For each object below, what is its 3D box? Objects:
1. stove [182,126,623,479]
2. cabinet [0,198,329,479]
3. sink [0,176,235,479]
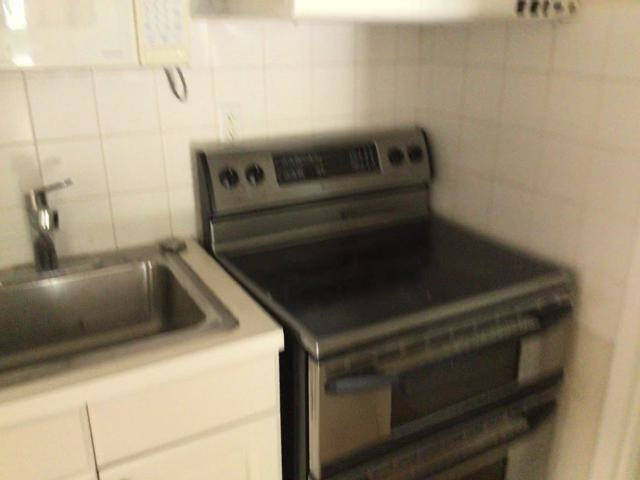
[{"bbox_3d":[0.160,0.340,1.640,0.820,1.160,0.760,-10,21,-23],"label":"stove"},{"bbox_3d":[-0.720,0.570,1.230,1.310,1.010,0.690,-12,21,-28],"label":"cabinet"},{"bbox_3d":[-0.550,0.140,1.270,0.540,0.410,0.500,-12,21,-28],"label":"sink"}]
